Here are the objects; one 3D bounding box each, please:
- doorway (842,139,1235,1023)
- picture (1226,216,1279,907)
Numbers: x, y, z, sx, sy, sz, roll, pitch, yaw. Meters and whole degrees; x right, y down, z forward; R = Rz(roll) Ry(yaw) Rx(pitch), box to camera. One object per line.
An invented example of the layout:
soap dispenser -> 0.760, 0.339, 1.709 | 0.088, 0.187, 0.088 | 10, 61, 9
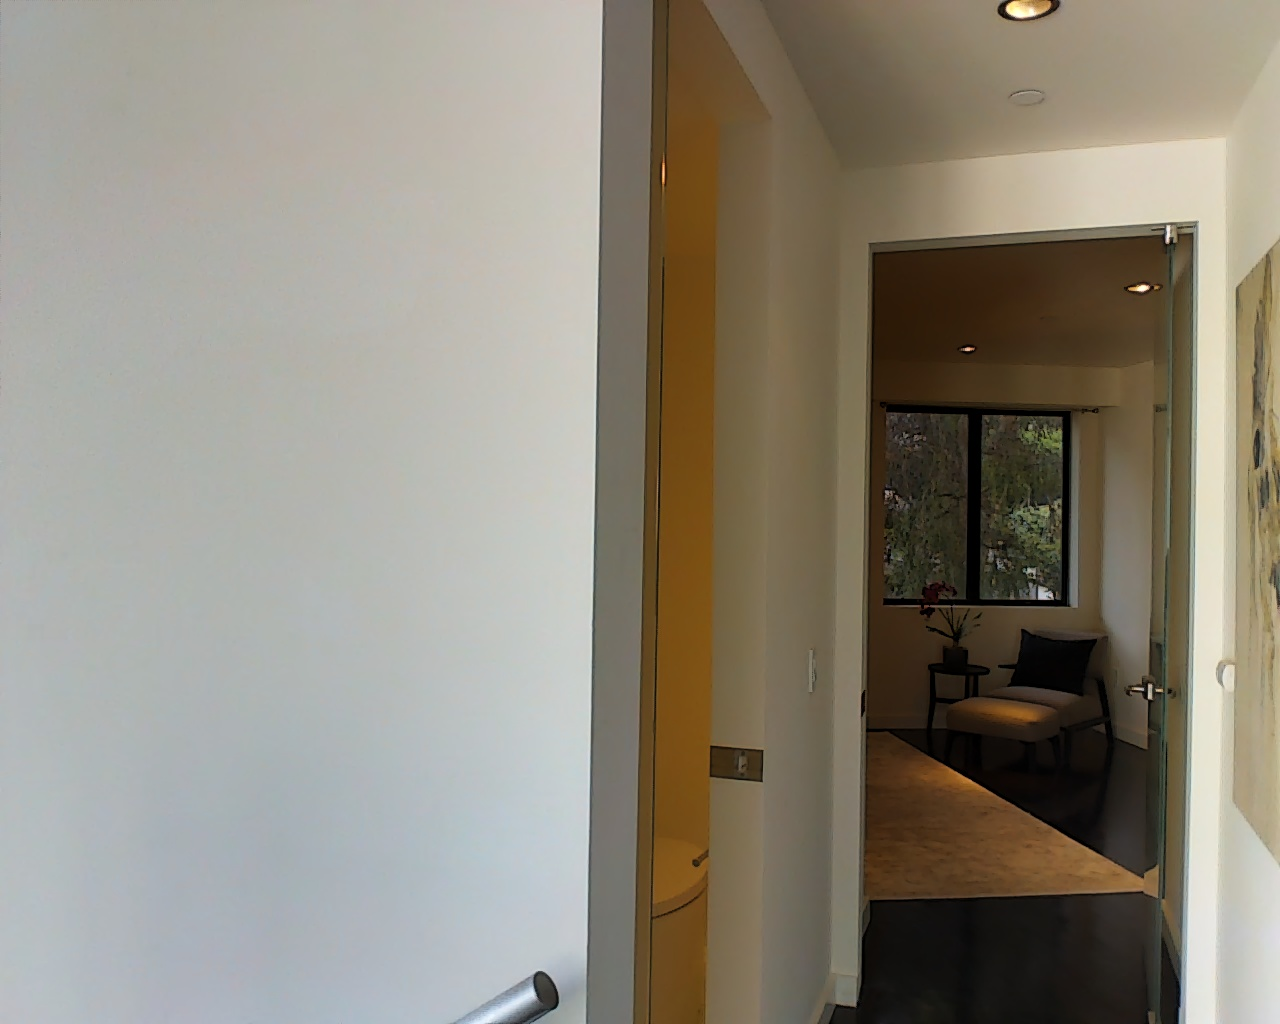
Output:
doorway -> 1.200, 0.250, 3.330 | 1.090, 2.640, 0.170 | 1, 0, 19
picture -> 1.280, 0.090, 2.060 | 0.060, 1.380, 1.290 | 1, 0, 19
